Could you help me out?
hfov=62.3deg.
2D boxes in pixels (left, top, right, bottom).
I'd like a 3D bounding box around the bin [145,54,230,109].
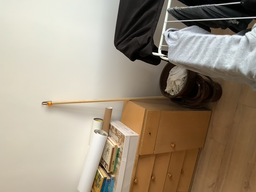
[{"bbox_3d":[0.490,-0.130,1.820,0.460,0.440,0.320,34,115,54],"label":"bin"}]
